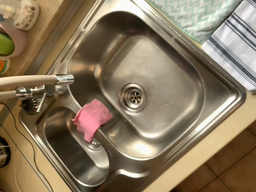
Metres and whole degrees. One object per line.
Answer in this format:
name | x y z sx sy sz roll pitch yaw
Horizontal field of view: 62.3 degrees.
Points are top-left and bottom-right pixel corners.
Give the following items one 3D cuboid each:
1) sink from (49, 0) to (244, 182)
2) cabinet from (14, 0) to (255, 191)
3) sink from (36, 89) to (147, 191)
sink | 0.040 -0.050 0.730 0.490 0.190 0.380 46 109 13
cabinet | 0.100 0.010 1.070 0.600 0.850 0.590 46 109 13
sink | -0.140 0.170 0.810 0.360 0.160 0.190 46 109 13
